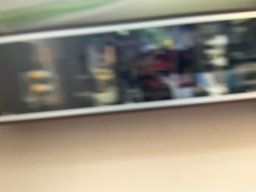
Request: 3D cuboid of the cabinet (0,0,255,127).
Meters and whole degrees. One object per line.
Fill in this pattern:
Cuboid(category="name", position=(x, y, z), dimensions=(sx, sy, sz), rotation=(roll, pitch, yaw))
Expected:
Cuboid(category="cabinet", position=(0.200, -0.210, 1.190), dimensions=(0.350, 2.090, 0.520), rotation=(-95, 0, -80))
